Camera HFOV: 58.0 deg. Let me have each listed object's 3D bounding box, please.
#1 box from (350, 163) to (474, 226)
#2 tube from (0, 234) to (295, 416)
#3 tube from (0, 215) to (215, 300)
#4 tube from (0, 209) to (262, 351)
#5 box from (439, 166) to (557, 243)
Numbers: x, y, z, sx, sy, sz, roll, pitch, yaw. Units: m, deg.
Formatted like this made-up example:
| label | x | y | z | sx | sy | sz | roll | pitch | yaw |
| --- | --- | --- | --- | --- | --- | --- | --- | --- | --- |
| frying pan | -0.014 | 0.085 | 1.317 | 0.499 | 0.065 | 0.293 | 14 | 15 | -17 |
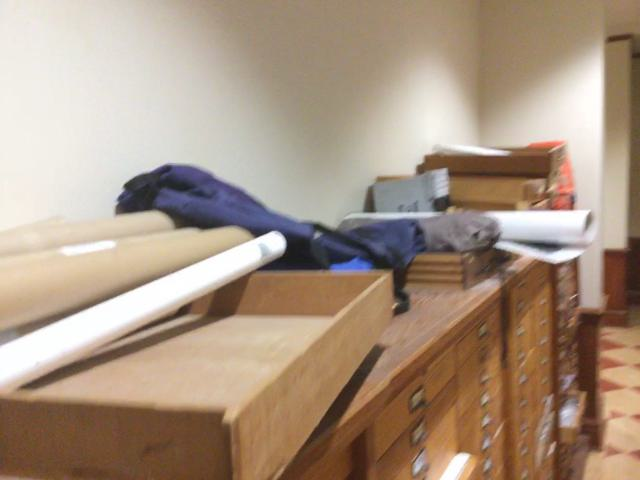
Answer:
| label | x | y | z | sx | sy | sz | roll | pitch | yaw |
| --- | --- | --- | --- | --- | --- | --- | --- | --- | --- |
| box | 0.390 | -0.190 | 2.390 | 0.400 | 0.210 | 0.360 | -1 | 8 | 28 |
| tube | -0.240 | 0.090 | 0.910 | 0.080 | 0.110 | 0.640 | -1 | 8 | 28 |
| tube | -0.450 | 0.040 | 0.880 | 0.110 | 0.060 | 0.860 | -2 | 8 | 24 |
| tube | -0.360 | 0.060 | 0.800 | 0.080 | 0.100 | 1.030 | -2 | 8 | 22 |
| box | 0.750 | -0.150 | 2.410 | 0.340 | 0.240 | 0.380 | -5 | 6 | 36 |
